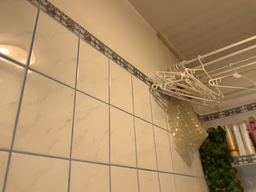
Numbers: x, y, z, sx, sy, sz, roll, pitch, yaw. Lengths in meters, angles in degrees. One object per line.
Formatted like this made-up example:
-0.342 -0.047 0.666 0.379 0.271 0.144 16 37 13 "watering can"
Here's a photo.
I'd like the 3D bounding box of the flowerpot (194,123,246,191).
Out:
0.590 0.520 1.300 0.160 0.650 0.220 -22 -32 34 "flowerpot"
